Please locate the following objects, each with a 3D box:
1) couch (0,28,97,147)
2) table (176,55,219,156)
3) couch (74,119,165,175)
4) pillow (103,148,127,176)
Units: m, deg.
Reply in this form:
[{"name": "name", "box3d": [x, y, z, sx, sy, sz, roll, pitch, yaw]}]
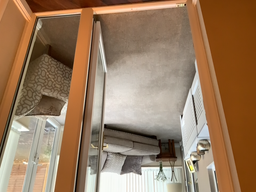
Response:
[{"name": "couch", "box3d": [-1.020, 0.000, 2.480, 0.800, 0.890, 0.960, -19, 148, 32]}, {"name": "table", "box3d": [0.930, 0.300, 3.140, 0.170, 0.780, 1.900, -3, 153, 6]}, {"name": "couch", "box3d": [-0.170, 1.290, 5.040, 1.780, 0.850, 1.070, 18, 148, -30]}, {"name": "pillow", "box3d": [-0.300, 1.560, 5.070, 0.570, 0.480, 0.180, -4, -178, -40]}]
